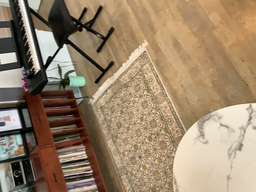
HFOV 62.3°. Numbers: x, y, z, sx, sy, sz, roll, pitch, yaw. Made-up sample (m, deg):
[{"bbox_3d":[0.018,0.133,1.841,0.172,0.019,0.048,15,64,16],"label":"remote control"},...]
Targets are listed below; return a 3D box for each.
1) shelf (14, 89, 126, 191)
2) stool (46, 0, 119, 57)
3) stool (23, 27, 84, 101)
[{"bbox_3d":[-0.620,0.540,2.160,0.540,0.680,1.070,-39,66,41],"label":"shelf"},{"bbox_3d":[-0.430,-0.630,1.990,0.330,0.490,0.360,-42,64,39],"label":"stool"},{"bbox_3d":[-0.950,-0.390,2.650,0.410,0.430,0.770,-39,66,41],"label":"stool"}]
